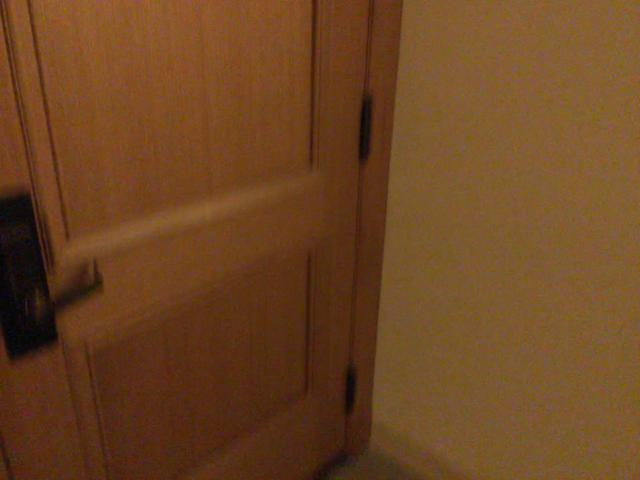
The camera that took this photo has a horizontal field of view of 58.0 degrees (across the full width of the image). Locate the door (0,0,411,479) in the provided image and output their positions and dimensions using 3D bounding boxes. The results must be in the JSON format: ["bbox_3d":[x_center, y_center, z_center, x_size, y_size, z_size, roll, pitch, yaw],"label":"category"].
[{"bbox_3d":[-0.190,-0.140,1.040,0.080,2.140,1.030,21,26,36],"label":"door"}]
